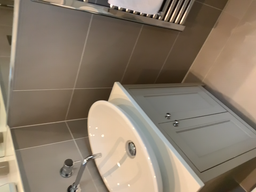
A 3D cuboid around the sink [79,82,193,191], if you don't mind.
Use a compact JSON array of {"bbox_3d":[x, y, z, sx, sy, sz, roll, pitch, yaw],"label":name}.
[{"bbox_3d":[-0.030,0.260,0.980,0.590,0.100,0.380,51,130,37],"label":"sink"}]
